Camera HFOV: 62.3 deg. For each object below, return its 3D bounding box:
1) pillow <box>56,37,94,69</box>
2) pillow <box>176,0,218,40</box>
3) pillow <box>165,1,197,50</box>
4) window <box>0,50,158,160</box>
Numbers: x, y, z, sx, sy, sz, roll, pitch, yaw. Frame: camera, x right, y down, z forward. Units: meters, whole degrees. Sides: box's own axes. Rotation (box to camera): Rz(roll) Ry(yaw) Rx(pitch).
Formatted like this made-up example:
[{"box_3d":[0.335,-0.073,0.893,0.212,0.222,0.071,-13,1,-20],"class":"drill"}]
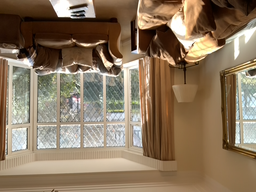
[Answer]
[{"box_3d":[-0.970,-0.780,3.910,0.590,0.410,0.180,13,175,-7],"class":"pillow"},{"box_3d":[0.650,-0.850,2.080,0.200,0.430,0.520,-1,177,-3],"class":"pillow"},{"box_3d":[0.620,-0.830,2.560,0.240,0.420,0.440,-1,177,-4],"class":"pillow"},{"box_3d":[-0.990,0.160,4.350,2.940,1.920,1.170,-1,177,-4],"class":"window"}]
